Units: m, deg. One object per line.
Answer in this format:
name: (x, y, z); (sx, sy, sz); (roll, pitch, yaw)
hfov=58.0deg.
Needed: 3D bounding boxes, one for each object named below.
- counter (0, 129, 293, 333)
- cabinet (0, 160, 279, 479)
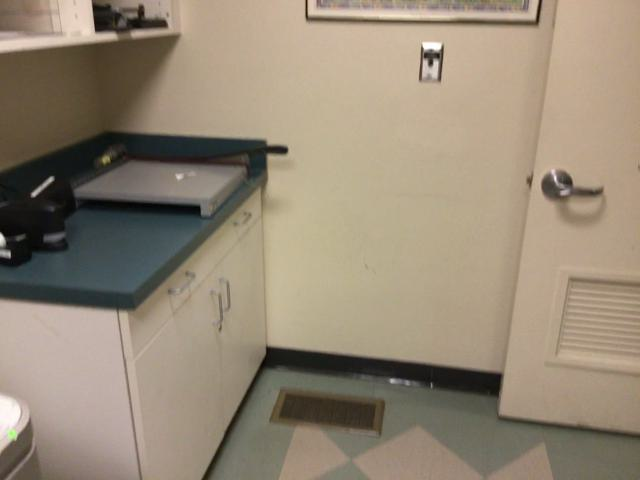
counter: (-0.530, -0.110, 1.630); (0.690, 0.220, 1.030); (1, 21, 10)
cabinet: (-0.570, 0.300, 1.800); (0.610, 0.890, 0.980); (1, 21, 10)
